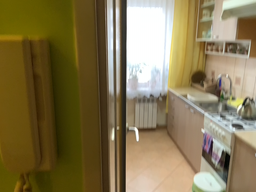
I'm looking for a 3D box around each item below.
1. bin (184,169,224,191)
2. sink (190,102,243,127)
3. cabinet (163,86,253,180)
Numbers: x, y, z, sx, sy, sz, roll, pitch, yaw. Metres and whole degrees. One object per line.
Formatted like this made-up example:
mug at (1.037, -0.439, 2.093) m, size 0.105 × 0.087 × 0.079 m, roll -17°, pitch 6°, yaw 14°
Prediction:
bin at (0.720, 0.950, 2.060) m, size 0.220 × 0.330 × 0.310 m, roll -2°, pitch 15°, yaw -10°
sink at (1.020, 0.210, 2.500) m, size 0.420 × 0.160 × 0.390 m, roll -1°, pitch 14°, yaw -8°
cabinet at (1.000, 0.410, 3.050) m, size 0.590 × 0.830 × 1.330 m, roll -1°, pitch 14°, yaw -8°
